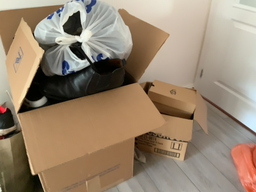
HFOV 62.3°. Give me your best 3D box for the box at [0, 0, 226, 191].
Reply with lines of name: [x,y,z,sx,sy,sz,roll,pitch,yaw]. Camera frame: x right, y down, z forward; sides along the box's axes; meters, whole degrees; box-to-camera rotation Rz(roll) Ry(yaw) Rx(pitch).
box: [-0.190,0.090,1.000,0.690,0.830,0.730,-18,39,-25]

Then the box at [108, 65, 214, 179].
box: [0.200,0.130,1.310,0.500,0.430,0.400,15,37,18]
